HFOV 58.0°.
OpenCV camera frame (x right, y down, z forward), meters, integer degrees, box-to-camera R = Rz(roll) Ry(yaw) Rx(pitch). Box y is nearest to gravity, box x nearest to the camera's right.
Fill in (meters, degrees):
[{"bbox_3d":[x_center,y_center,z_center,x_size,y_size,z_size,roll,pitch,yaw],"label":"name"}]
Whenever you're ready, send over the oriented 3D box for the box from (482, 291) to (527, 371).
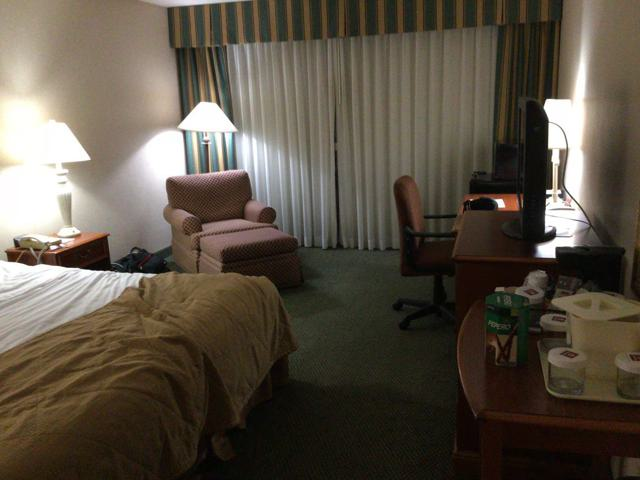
[{"bbox_3d":[0.470,0.230,1.480,0.100,0.170,0.100,2,17,16],"label":"box"}]
